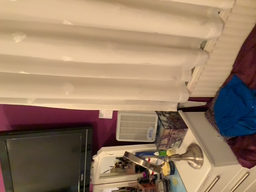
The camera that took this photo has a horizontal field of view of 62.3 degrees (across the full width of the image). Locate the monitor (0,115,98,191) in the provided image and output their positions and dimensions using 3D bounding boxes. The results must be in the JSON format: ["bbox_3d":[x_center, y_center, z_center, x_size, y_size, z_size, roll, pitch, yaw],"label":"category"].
[{"bbox_3d":[-0.490,0.490,1.370,0.040,0.520,0.810,-112,28,-63],"label":"monitor"}]
